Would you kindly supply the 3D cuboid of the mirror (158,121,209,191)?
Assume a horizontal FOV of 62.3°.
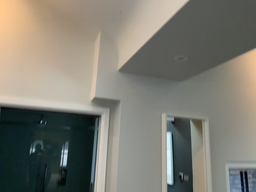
[{"bbox_3d":[0.420,0.940,1.560,0.410,1.480,0.070,6,-14,-19],"label":"mirror"}]
